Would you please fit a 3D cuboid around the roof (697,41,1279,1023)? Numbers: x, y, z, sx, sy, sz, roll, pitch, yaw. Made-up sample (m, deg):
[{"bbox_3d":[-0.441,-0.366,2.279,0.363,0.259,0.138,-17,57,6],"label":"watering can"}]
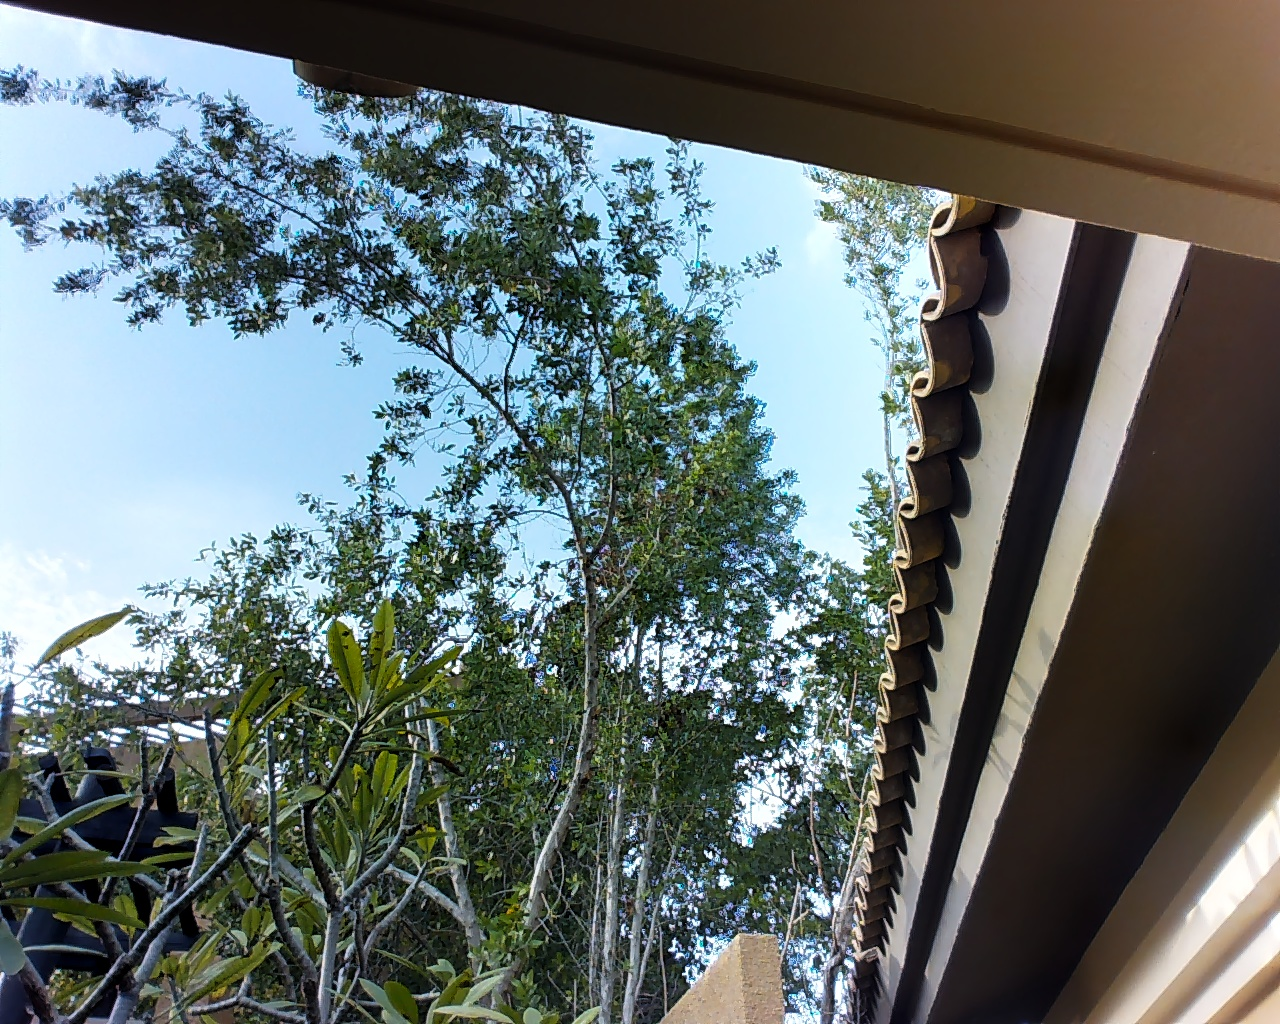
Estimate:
[{"bbox_3d":[1.180,0.700,2.860,1.510,0.890,3.520,-7,-41,8],"label":"roof"}]
